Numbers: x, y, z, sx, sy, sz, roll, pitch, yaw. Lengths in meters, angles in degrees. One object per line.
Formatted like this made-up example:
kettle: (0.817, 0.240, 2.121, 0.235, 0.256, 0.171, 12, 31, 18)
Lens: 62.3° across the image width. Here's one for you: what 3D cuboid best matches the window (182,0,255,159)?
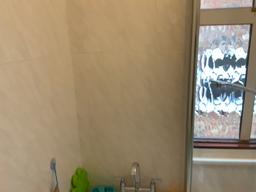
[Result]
window: (0.680, -0.350, 1.110, 0.710, 1.470, 0.080, 1, 15, 9)
